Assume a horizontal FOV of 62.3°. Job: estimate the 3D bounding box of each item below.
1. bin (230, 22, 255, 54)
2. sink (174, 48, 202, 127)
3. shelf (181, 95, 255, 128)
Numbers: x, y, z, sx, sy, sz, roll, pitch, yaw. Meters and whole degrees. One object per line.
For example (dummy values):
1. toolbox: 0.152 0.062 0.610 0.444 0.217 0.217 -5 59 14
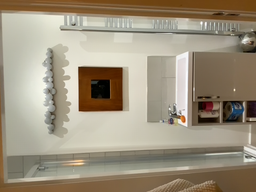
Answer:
1. bin: 1.120 -0.490 1.850 0.280 0.300 0.210 -163 72 -80
2. sink: 0.500 -0.070 1.780 0.240 0.130 0.620 -169 78 -80
3. shelf: 0.880 0.120 1.850 0.240 0.780 0.240 -169 78 -80
